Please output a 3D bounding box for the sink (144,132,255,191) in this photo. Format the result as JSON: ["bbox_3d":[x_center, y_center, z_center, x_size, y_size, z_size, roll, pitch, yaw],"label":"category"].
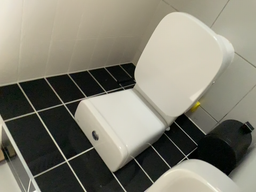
[{"bbox_3d":[0.310,0.480,0.700,0.550,0.180,0.420,47,132,23],"label":"sink"}]
